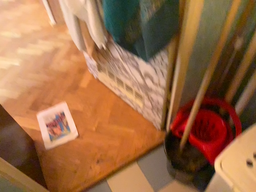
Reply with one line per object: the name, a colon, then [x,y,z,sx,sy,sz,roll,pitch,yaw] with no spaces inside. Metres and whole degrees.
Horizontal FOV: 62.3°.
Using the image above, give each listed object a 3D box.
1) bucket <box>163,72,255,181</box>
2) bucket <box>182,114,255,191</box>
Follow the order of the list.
bucket: [0.400,0.170,1.080,0.310,0.420,0.270,-29,57,-16]
bucket: [0.530,0.370,0.870,0.380,0.500,0.370,-29,57,-17]
